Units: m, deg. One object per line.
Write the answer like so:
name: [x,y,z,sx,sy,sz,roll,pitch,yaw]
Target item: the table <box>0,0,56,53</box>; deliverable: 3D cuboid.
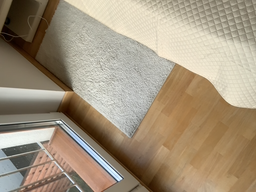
table: [-0.980,-0.720,1.840,0.440,0.320,0.470,36,104,24]
